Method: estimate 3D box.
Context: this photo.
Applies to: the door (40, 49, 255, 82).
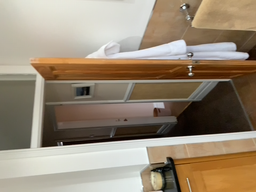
[{"bbox_3d":[0.300,-0.230,1.880,0.750,1.910,0.090,163,106,-75],"label":"door"}]
